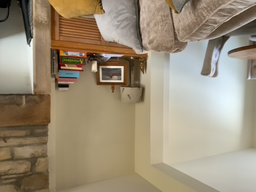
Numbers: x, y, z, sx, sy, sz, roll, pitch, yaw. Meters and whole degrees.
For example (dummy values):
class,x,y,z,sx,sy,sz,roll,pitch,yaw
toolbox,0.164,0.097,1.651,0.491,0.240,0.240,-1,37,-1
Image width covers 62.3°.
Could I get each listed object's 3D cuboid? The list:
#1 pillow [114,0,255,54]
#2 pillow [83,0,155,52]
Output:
class,x,y,z,sx,sy,sz,roll,pitch,yaw
pillow,0.260,-0.540,1.290,0.280,0.470,1.620,-15,-167,-12
pillow,-0.080,-0.590,1.650,0.200,0.390,0.470,-31,-160,-35
